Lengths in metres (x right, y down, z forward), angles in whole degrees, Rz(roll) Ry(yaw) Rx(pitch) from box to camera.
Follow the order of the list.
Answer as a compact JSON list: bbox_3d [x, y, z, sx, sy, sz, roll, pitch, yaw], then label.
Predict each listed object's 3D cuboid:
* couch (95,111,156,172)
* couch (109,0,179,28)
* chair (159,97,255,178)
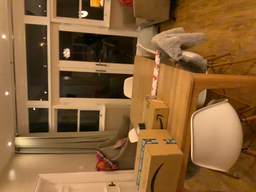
[{"bbox_3d":[-0.110,0.920,4.410,0.840,1.050,0.870,-106,21,-55],"label":"couch"},{"bbox_3d":[0.220,-1.760,3.580,1.170,0.890,1.010,-131,44,-72],"label":"couch"},{"bbox_3d":[0.670,0.250,1.450,0.510,0.780,0.420,157,114,-77],"label":"chair"}]
